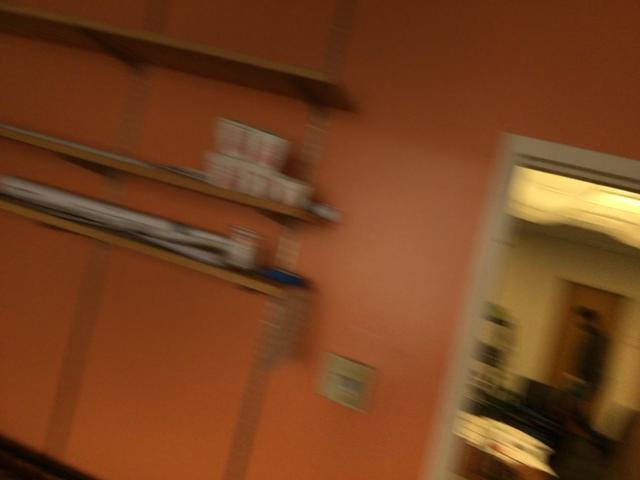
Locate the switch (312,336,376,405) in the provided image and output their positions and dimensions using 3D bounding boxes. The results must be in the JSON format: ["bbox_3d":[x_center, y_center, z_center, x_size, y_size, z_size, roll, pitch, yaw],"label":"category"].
[{"bbox_3d":[0.070,0.370,1.650,0.140,0.150,0.060,15,0,14],"label":"switch"}]
